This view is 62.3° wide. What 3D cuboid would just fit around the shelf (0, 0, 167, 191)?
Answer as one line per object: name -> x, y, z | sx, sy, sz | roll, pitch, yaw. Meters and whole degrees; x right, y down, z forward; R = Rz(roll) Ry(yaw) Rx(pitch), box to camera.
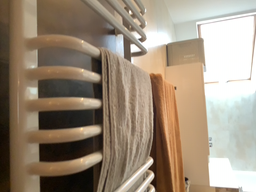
shelf -> -0.050, 0.130, 0.550 | 0.160, 0.920, 0.710 | -3, -4, 20
